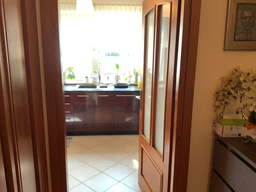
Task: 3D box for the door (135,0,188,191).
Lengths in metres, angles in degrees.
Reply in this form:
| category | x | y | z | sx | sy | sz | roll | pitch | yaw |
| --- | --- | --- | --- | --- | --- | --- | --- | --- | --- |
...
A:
| category | x | y | z | sx | sy | sz | roll | pitch | yaw |
| --- | --- | --- | --- | --- | --- | --- | --- | --- | --- |
| door | 0.240 | 0.140 | 1.980 | 0.110 | 2.080 | 0.820 | -1 | 13 | -11 |
